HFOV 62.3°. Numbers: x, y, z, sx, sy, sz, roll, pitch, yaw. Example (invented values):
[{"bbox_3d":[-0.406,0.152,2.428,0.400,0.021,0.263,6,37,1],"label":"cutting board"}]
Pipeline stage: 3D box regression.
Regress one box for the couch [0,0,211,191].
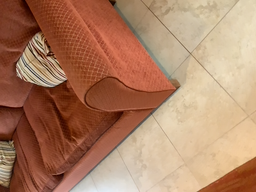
[{"bbox_3d":[-0.760,0.290,1.690,2.240,0.920,1.170,-47,61,33],"label":"couch"}]
